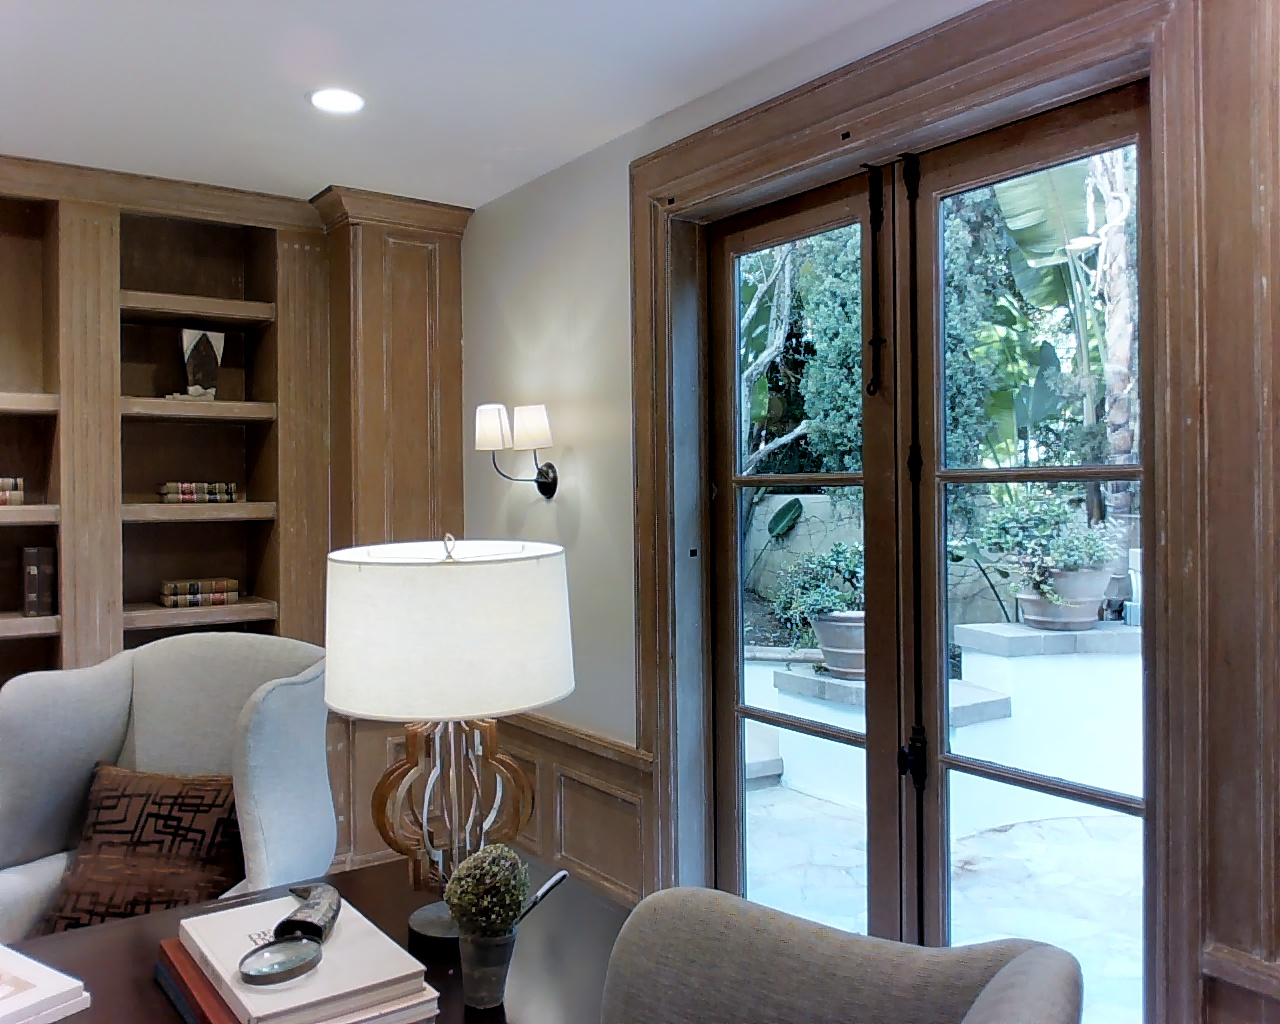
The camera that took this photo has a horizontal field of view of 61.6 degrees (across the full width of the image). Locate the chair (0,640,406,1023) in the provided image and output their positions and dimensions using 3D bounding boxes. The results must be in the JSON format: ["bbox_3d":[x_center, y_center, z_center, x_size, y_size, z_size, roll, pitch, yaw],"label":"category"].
[{"bbox_3d":[-1.160,0.990,2.620,0.890,1.230,0.820,0,1,12],"label":"chair"}]

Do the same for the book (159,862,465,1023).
[{"bbox_3d":[-0.560,0.760,1.780,0.350,0.150,0.510,-1,1,-34],"label":"book"}]

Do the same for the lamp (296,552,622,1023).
[{"bbox_3d":[-0.350,0.460,2.010,0.440,0.740,0.480,-1,1,-34],"label":"lamp"}]
